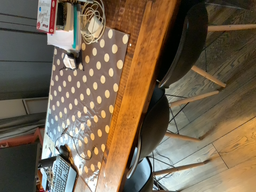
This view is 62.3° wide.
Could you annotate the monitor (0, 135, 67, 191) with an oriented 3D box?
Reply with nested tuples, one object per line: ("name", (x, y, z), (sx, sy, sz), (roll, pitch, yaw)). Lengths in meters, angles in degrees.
("monitor", (-0.670, 0.520, 1.370), (0.040, 0.470, 0.520), (34, 115, 39))
